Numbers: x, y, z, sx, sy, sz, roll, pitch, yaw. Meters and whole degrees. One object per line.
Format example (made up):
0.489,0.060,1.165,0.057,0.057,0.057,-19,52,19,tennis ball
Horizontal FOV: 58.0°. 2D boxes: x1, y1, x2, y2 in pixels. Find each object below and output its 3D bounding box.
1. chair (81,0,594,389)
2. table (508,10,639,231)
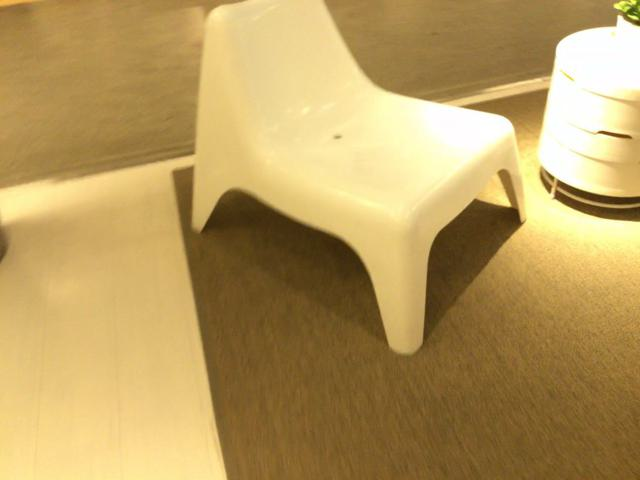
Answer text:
0.070,-0.310,1.650,0.970,0.710,0.830,25,50,32,chair
0.940,-0.390,1.800,0.470,0.440,0.470,-13,41,-6,table
